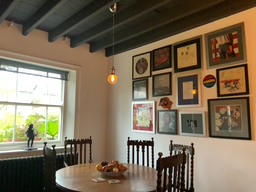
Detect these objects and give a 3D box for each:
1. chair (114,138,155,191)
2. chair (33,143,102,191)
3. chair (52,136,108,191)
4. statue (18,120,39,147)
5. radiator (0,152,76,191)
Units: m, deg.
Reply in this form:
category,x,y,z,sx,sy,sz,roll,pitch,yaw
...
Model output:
category,x,y,z,sx,sy,sz,roll,pitch,yaw
chair,0.100,1.090,2.710,0.420,1.040,0.530,-1,-7,14
chair,-0.590,1.010,2.020,0.530,1.040,0.420,4,-8,-32
chair,-0.660,1.110,2.890,0.520,1.040,0.560,6,-8,-39
statue,-1.590,0.590,3.400,0.240,0.410,0.180,6,-9,-43
radiator,-1.410,1.250,3.090,0.160,0.700,1.390,-6,-9,43
